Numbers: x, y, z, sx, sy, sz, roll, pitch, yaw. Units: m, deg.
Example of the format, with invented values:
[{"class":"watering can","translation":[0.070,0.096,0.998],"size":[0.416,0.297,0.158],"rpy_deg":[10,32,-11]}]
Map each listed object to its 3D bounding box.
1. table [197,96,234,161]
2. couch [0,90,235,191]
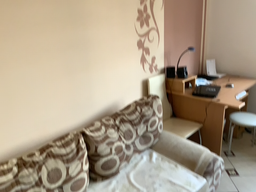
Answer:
[{"class":"table","translation":[0.950,0.370,2.340],"size":[0.310,0.750,0.080],"rpy_deg":[0,19,9]},{"class":"couch","translation":[-0.170,0.680,1.510],"size":[1.990,0.830,0.970],"rpy_deg":[-20,25,-41]}]
